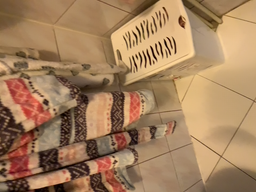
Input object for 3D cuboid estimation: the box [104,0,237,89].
[{"bbox_3d":[0.220,-0.230,1.040,0.380,0.490,0.270,-27,73,39],"label":"box"}]
